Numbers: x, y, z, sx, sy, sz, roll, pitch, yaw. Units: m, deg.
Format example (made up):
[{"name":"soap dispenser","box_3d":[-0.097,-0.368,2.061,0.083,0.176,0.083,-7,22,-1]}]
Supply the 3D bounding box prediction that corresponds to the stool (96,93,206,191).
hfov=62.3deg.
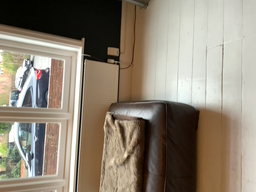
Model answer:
[{"name":"stool","box_3d":[0.110,0.530,1.880,1.070,0.380,1.050,-2,84,60]}]

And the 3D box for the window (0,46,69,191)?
[{"name":"window","box_3d":[-1.510,0.550,1.910,0.080,1.790,2.090,-1,85,60]}]
